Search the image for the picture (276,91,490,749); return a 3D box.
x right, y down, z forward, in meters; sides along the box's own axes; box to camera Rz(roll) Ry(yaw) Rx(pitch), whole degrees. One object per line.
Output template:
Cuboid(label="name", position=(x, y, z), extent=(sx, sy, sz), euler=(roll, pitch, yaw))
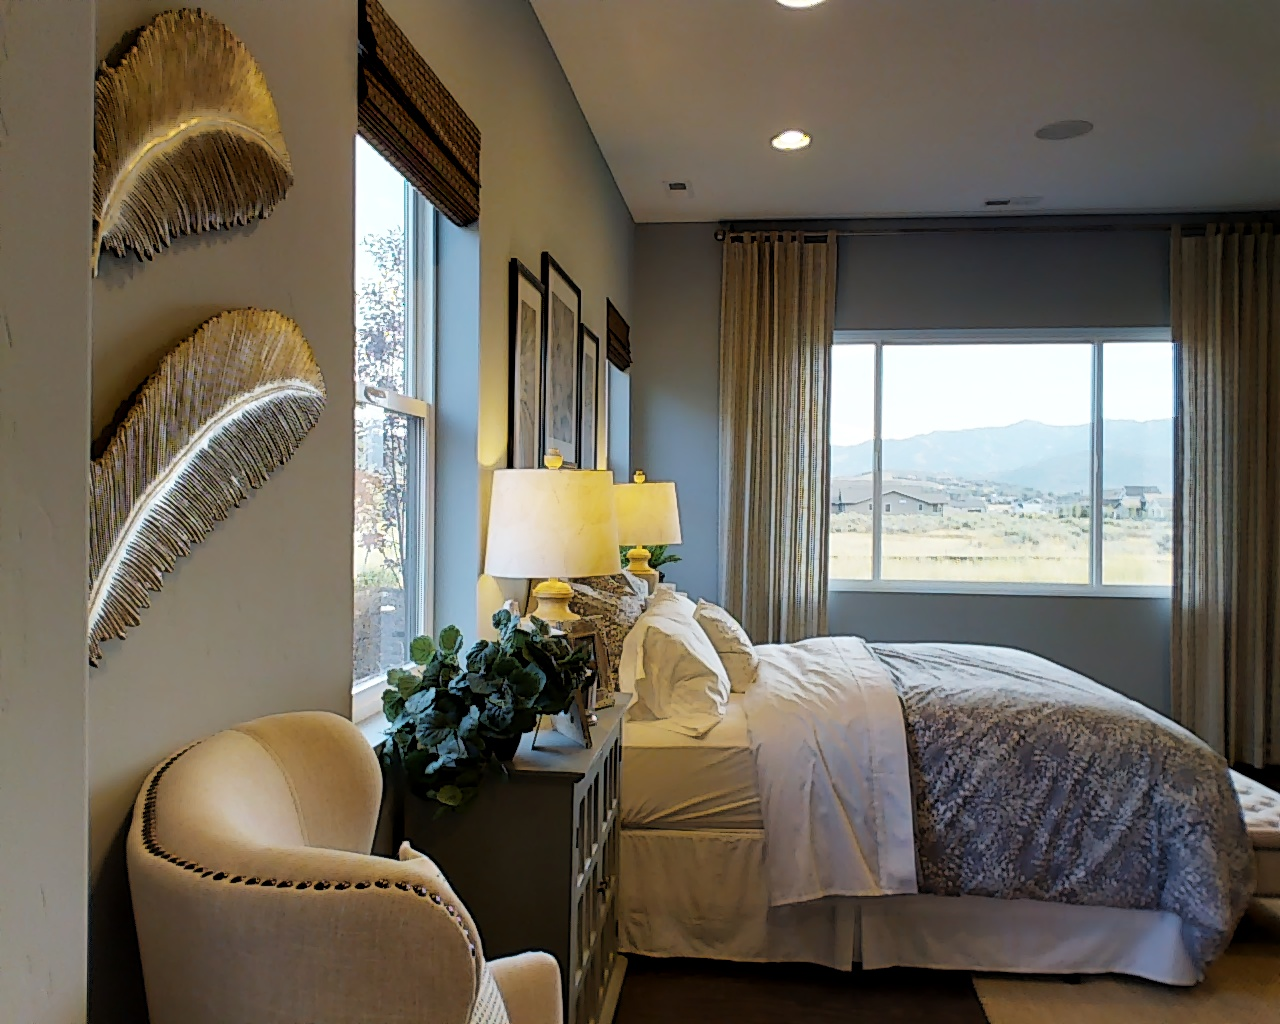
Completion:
Cuboid(label="picture", position=(-0.560, -0.180, 2.500), extent=(0.200, 1.270, 0.850), euler=(1, 0, 6))

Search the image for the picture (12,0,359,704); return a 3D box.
Cuboid(label="picture", position=(-0.570, -0.260, 1.490), extent=(0.060, 0.910, 0.790), euler=(1, 0, 6))
